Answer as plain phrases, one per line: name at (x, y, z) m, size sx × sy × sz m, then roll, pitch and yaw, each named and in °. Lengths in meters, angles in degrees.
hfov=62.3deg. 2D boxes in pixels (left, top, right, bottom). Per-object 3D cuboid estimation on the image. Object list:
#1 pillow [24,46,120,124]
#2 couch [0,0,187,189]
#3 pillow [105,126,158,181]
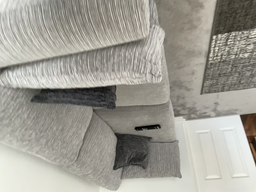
pillow at (-0.250, -0.050, 1.080) m, size 0.390 × 0.290 × 0.230 m, roll -4°, pitch 149°, yaw 2°
couch at (-0.130, 0.080, 1.640) m, size 1.000 × 0.860 × 2.240 m, roll -9°, pitch 148°, yaw 11°
pillow at (0.030, 0.580, 2.180) m, size 0.390 × 0.360 × 0.180 m, roll -27°, pitch 155°, yaw -28°
